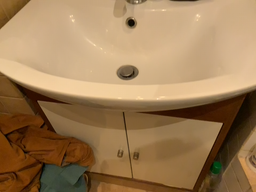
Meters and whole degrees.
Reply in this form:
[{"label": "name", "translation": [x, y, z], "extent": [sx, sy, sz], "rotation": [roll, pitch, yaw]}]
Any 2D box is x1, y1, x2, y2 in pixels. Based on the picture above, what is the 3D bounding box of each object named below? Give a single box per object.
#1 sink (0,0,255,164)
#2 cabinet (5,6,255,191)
[{"label": "sink", "translation": [-0.010, -0.110, 0.550], "extent": [0.670, 0.160, 0.430], "rotation": [6, 50, 10]}, {"label": "cabinet", "translation": [0.030, 0.100, 0.880], "extent": [0.580, 0.800, 0.310], "rotation": [6, 50, 10]}]
